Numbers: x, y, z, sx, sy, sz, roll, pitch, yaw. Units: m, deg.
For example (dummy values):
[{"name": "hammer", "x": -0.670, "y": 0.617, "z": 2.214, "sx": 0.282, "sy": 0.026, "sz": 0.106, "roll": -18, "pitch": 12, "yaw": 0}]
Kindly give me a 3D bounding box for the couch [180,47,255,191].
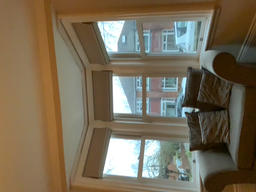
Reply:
[{"name": "couch", "x": 1.170, "y": 0.230, "z": 2.570, "sx": 0.950, "sy": 0.960, "sz": 1.570, "roll": -51, "pitch": -38, "yaw": -72}]
